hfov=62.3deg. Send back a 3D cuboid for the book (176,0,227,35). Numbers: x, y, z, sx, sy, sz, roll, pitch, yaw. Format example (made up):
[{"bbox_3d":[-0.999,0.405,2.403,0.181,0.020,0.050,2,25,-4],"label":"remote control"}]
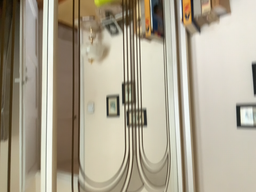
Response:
[{"bbox_3d":[0.440,-0.550,1.270,0.220,0.250,0.250,-4,174,35],"label":"book"}]
